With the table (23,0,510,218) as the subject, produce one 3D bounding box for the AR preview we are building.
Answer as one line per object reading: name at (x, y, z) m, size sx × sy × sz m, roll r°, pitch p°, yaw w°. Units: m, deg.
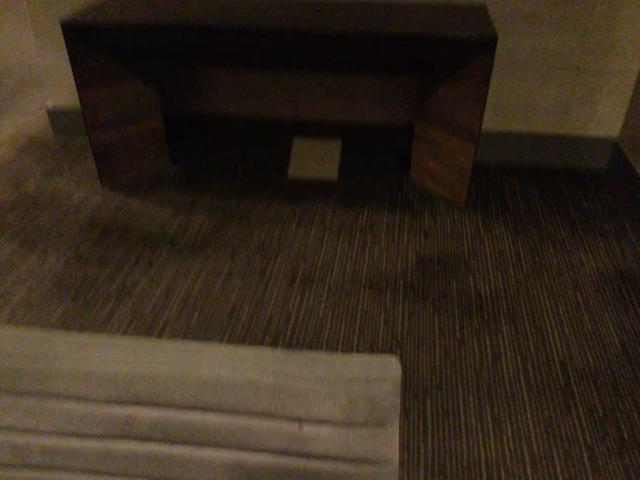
table at (-0.190, -0.590, 2.370) m, size 1.680 × 0.720 × 0.540 m, roll 4°, pitch 29°, yaw 6°
